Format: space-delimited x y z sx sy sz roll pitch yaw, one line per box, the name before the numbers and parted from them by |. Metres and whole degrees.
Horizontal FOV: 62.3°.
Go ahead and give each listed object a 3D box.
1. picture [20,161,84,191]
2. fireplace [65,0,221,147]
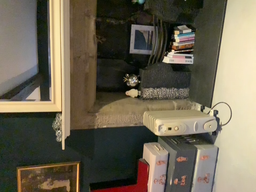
picture | -0.700 0.800 2.000 0.020 0.550 0.360 -137 50 -66
fireplace | 0.090 -0.540 2.200 0.660 1.400 1.860 -144 56 -67
